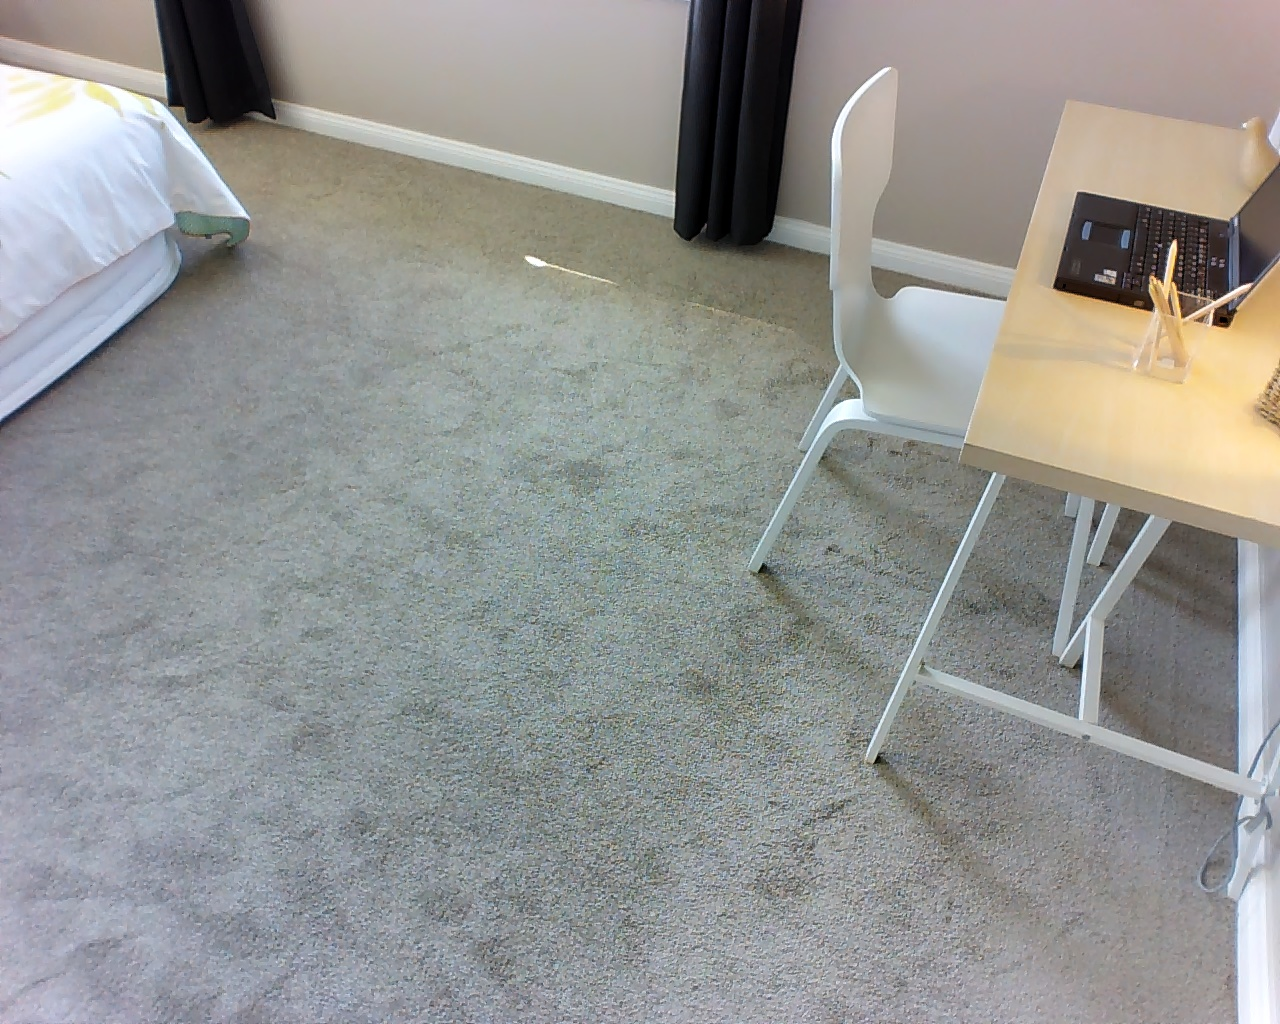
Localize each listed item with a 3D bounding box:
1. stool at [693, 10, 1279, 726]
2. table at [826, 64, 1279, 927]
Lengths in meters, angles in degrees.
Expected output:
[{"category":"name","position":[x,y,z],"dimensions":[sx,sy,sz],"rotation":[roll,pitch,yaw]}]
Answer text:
[{"category":"stool","position":[0.600,-0.260,1.910],"dimensions":[0.770,0.910,0.620],"rotation":[19,45,17]},{"category":"table","position":[0.880,-0.140,1.890],"dimensions":[0.670,0.740,1.290],"rotation":[17,45,15]}]
